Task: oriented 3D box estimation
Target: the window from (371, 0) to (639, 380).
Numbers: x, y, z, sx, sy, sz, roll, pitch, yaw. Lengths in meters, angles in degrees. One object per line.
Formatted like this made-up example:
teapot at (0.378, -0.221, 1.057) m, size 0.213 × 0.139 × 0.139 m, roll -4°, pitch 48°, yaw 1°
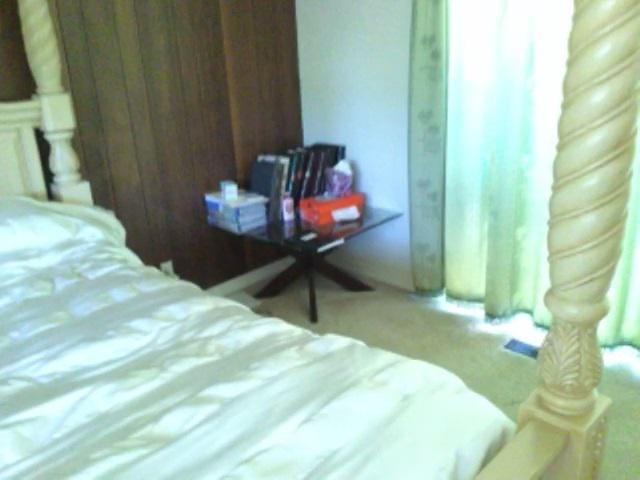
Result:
window at (0.830, -0.490, 2.430) m, size 1.330 × 1.940 × 0.210 m, roll 13°, pitch 25°, yaw 40°
